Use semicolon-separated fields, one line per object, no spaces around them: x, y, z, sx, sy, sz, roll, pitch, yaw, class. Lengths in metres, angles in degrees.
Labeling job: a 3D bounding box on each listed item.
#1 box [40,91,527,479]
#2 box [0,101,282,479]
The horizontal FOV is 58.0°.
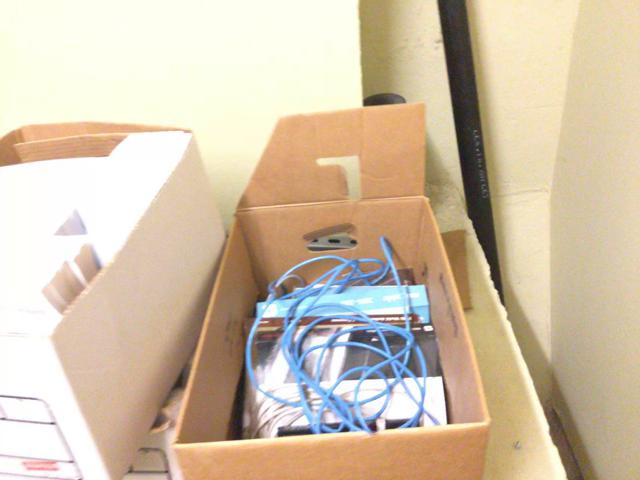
-0.010;0.130;0.810;0.400;0.490;0.490;-4;33;3;box
-0.320;0.050;0.730;0.380;0.290;0.470;4;35;16;box
